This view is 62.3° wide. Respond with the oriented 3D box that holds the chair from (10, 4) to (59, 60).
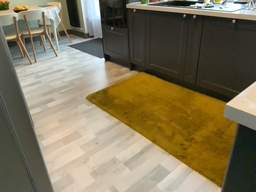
[{"bbox_3d":[-1.590,-1.110,3.640,0.420,0.800,0.540,-28,38,-37],"label":"chair"}]
